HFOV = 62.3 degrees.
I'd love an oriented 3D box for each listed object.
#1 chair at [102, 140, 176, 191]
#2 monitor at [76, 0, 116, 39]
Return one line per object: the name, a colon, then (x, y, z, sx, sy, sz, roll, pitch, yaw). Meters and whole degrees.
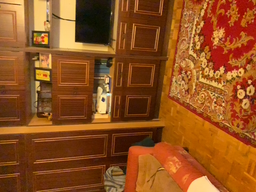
chair: (0.120, 0.940, 2.730, 0.400, 0.800, 0.550, -134, 48, -64)
monitor: (-0.370, -1.020, 2.480, 0.060, 0.440, 0.630, -134, 48, -64)
